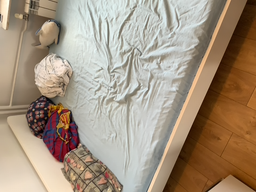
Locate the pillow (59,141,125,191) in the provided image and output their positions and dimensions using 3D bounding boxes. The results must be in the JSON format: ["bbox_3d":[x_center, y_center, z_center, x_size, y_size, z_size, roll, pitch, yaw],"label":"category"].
[{"bbox_3d":[-0.290,0.600,1.580,0.170,0.550,0.210,-2,-60,-46],"label":"pillow"}]

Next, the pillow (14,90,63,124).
[{"bbox_3d":[-0.900,0.100,2.180,0.360,0.320,0.190,-74,-13,-69],"label":"pillow"}]
